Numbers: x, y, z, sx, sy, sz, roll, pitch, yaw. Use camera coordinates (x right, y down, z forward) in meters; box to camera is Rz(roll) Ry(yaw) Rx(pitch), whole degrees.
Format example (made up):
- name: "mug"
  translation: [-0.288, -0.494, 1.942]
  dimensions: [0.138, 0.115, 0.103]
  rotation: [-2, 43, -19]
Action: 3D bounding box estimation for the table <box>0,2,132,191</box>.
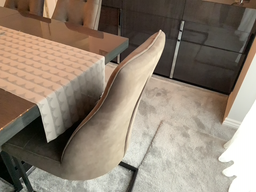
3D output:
- name: "table"
  translation: [-0.930, -0.040, 1.310]
  dimensions: [1.600, 0.750, 0.970]
  rotation: [19, 40, 18]
